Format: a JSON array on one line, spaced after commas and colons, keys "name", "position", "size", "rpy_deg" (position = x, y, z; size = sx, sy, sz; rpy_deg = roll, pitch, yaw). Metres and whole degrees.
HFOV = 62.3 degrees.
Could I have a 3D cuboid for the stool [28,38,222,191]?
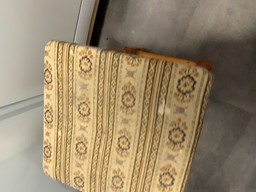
[{"name": "stool", "position": [0.040, 0.020, 0.580], "size": [0.330, 0.460, 0.300], "rpy_deg": [15, 110, 19]}]
